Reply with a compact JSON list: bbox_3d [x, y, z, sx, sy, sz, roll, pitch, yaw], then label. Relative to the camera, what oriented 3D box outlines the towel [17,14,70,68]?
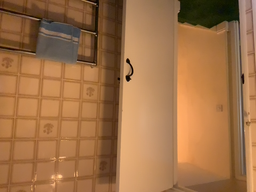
[{"bbox_3d":[-0.610,-0.390,1.550,0.330,0.310,0.080,5,172,-31],"label":"towel"}]
